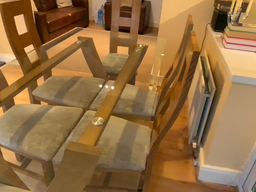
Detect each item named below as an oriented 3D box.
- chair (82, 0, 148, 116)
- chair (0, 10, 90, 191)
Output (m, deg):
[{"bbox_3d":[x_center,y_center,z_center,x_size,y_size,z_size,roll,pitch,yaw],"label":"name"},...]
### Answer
[{"bbox_3d":[-0.110,-0.430,2.200,0.440,1.020,0.660,10,32,9],"label":"chair"},{"bbox_3d":[-0.590,0.100,1.250,0.600,1.050,0.400,8,31,5],"label":"chair"}]
